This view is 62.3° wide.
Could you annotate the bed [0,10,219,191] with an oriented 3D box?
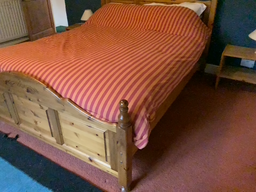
[{"bbox_3d":[-0.170,-0.360,2.310,1.700,0.680,2.180,16,34,25],"label":"bed"}]
